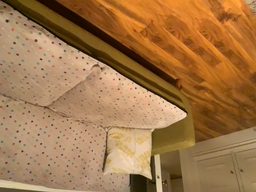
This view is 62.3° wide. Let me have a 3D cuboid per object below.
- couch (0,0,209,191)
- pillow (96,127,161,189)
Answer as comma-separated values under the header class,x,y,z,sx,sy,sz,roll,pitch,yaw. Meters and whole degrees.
class,x,y,z,sx,sy,sz,roll,pitch,yaw
couch,-0.550,0.080,1.500,2.070,0.930,1.120,26,141,-37
pillow,-0.010,0.510,1.820,0.450,0.410,0.130,-10,134,-13
